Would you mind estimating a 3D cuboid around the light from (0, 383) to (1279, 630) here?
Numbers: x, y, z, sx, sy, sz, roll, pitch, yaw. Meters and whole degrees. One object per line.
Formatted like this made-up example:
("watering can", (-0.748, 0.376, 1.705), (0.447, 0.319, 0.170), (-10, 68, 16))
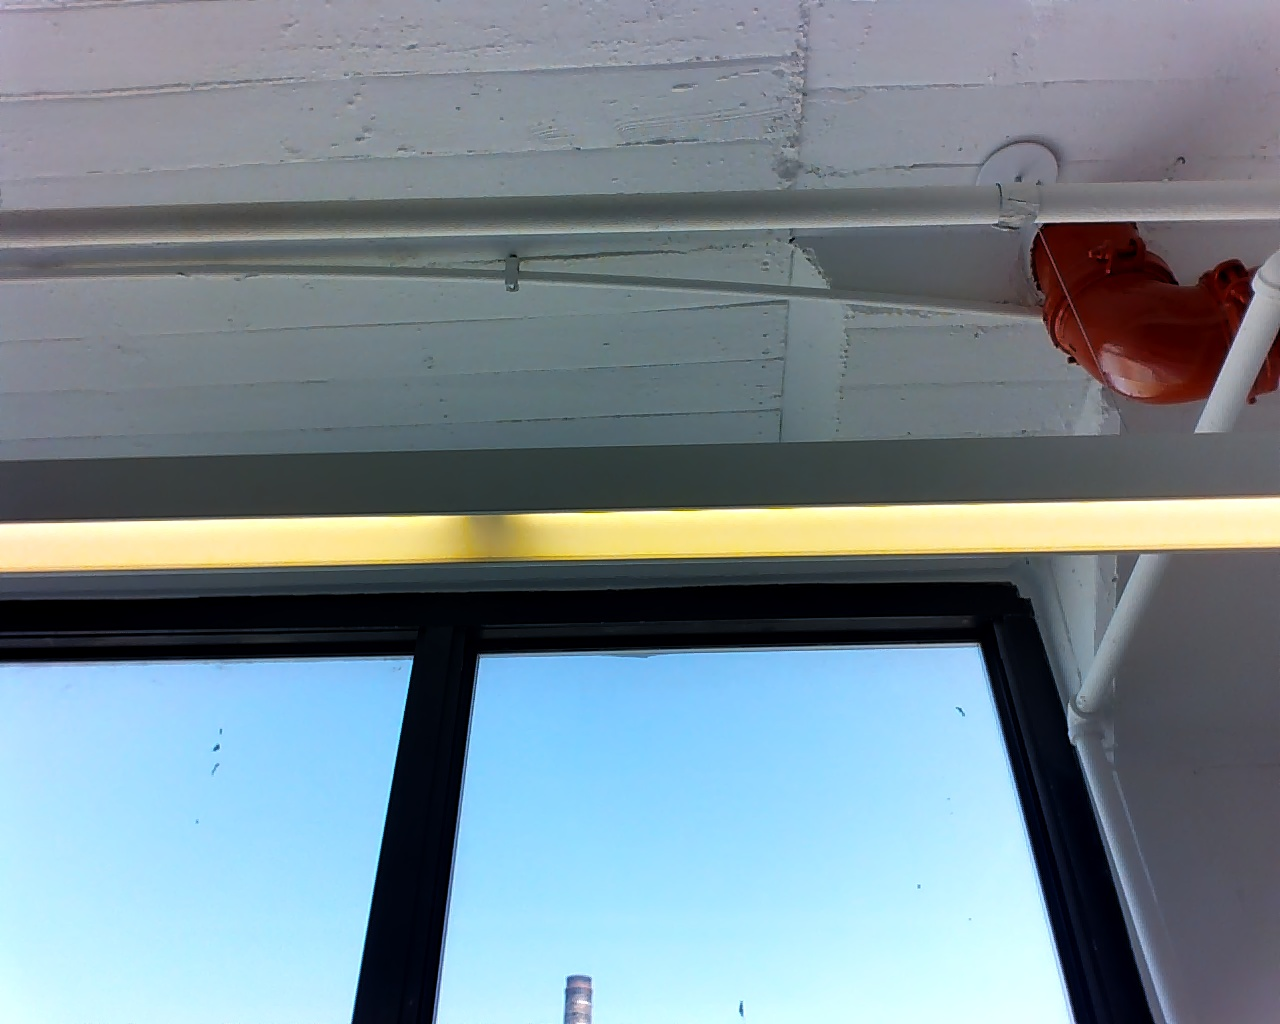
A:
("light", (-0.160, 0.000, 1.340), (2.498, 0.190, 0.200), (-1, -42, 2))
